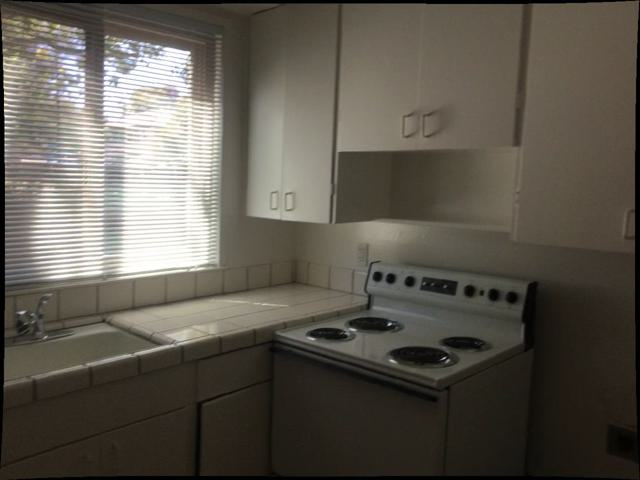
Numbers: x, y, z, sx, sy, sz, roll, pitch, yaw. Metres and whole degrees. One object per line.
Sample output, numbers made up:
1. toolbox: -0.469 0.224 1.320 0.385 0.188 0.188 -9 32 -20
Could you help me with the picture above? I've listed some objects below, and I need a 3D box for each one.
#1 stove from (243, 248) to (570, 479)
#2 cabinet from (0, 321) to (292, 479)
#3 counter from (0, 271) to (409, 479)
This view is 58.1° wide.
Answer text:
1. stove: 0.300 0.701 2.280 0.939 1.142 0.739 12 12 41
2. cabinet: -0.699 0.851 1.820 0.180 0.931 1.459 12 12 41
3. counter: -0.609 0.421 2.130 0.799 0.240 2.108 12 12 41
